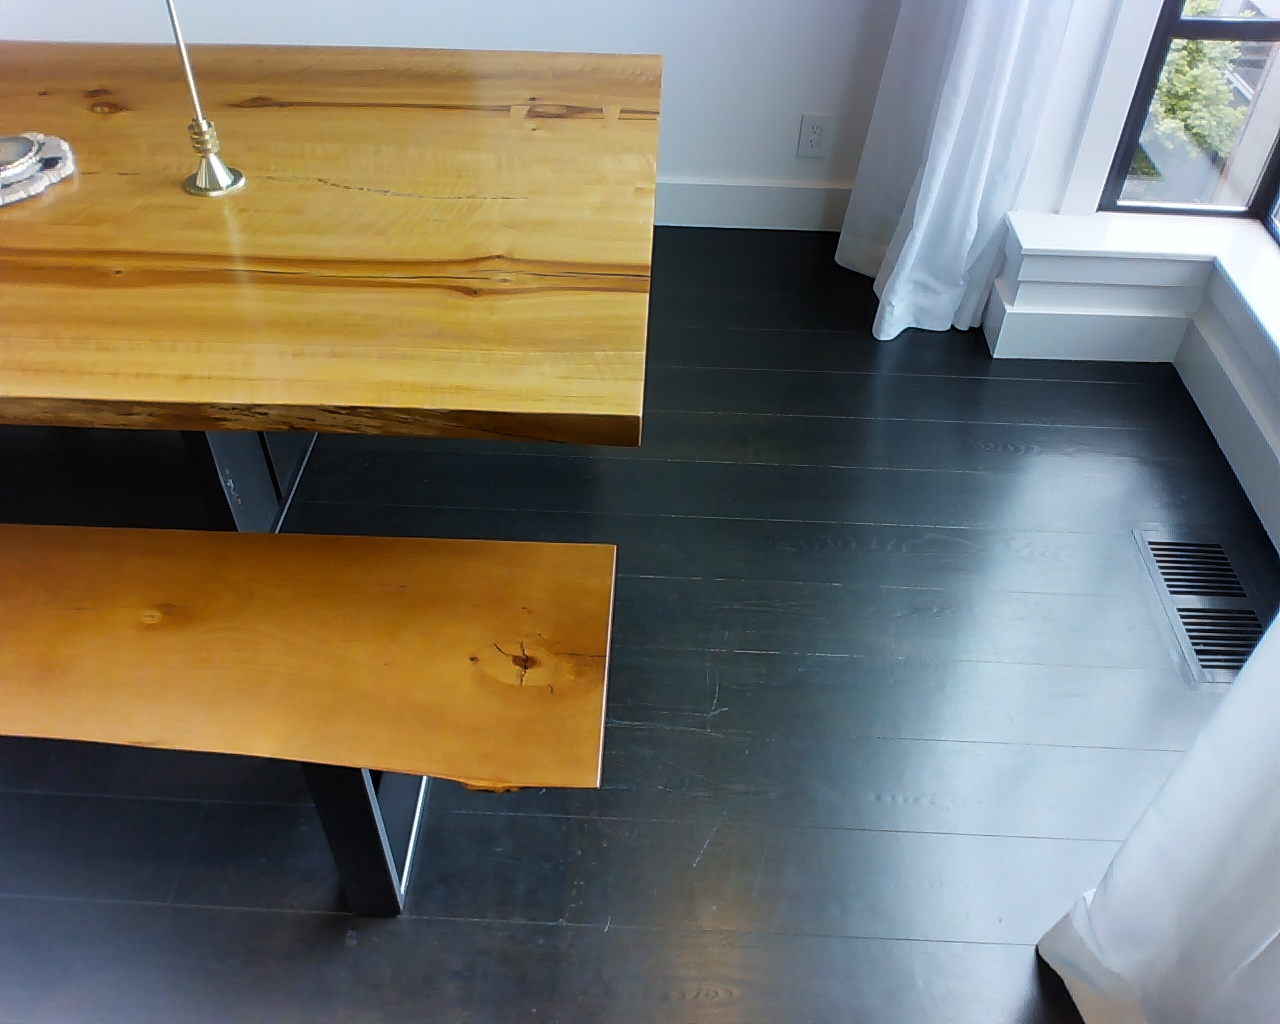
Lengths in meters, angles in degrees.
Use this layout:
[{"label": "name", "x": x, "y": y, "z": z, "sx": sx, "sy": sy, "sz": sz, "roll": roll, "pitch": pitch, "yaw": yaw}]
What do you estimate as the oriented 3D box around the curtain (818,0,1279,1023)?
[{"label": "curtain", "x": 0.720, "y": -0.990, "z": 1.220, "sx": 0.430, "sy": 2.930, "sz": 2.690, "roll": 2, "pitch": 43, "yaw": 1}]
